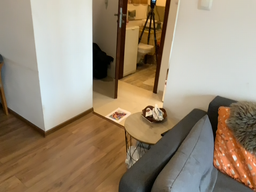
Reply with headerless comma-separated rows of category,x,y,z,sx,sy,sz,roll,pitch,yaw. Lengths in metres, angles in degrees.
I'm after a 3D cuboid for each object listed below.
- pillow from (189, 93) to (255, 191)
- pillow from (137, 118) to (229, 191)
pillow,0.720,0.280,1.300,0.520,0.380,0.300,25,32,35
pillow,0.310,0.410,1.140,0.230,0.300,0.610,21,30,30
